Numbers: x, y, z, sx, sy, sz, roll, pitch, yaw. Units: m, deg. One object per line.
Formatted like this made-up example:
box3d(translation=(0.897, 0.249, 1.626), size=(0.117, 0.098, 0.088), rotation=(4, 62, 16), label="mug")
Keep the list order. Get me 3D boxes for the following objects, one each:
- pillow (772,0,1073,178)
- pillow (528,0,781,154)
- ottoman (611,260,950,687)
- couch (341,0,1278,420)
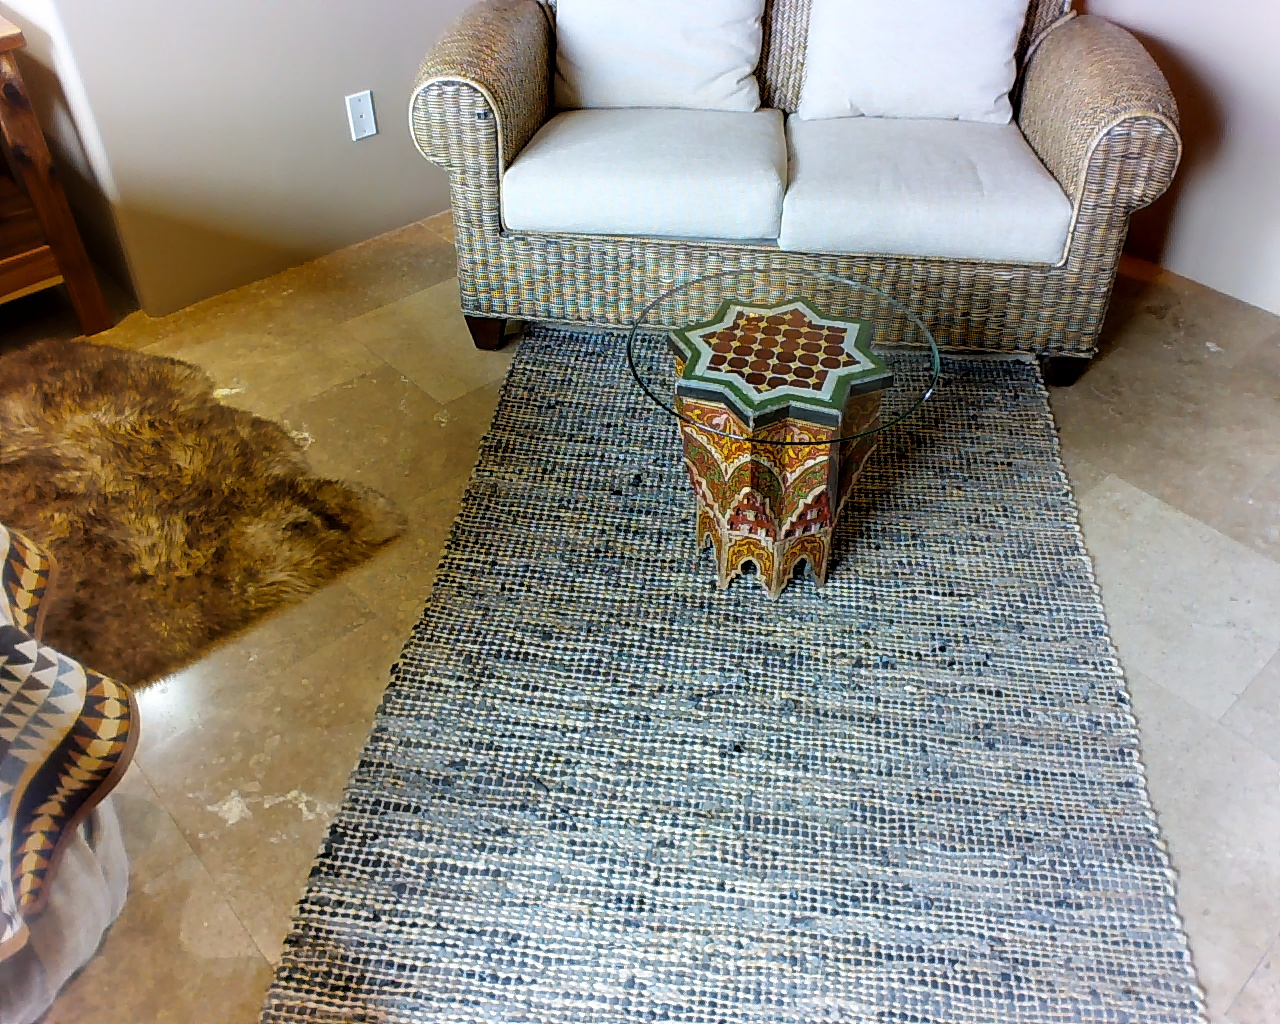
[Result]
box3d(translation=(0.660, -1.120, 2.490), size=(0.550, 0.500, 0.160), rotation=(15, 25, -8), label="pillow")
box3d(translation=(0.050, -1.180, 2.550), size=(0.530, 0.490, 0.190), rotation=(14, 27, -1), label="pillow")
box3d(translation=(0.250, -0.080, 1.890), size=(0.490, 0.480, 0.510), rotation=(8, 42, 9), label="ottoman")
box3d(translation=(0.320, -1.000, 2.510), size=(1.650, 1.050, 1.030), rotation=(4, 42, 5), label="couch")
